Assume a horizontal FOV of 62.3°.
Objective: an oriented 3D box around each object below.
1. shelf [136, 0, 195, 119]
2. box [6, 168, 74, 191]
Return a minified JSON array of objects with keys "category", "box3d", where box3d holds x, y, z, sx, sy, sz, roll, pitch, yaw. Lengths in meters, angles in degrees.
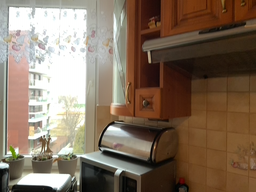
[{"category":"shelf","box3d":[0.210,-0.370,1.120,0.150,0.950,0.320,1,1,41]},{"category":"box","box3d":[-0.500,0.540,1.260,0.300,0.130,0.270,1,0,-3]}]
